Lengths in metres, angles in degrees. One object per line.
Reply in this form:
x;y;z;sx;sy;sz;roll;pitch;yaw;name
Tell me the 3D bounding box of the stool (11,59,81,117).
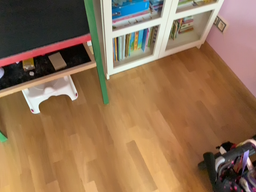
-0.500;-0.050;1.330;0.330;0.200;0.190;-22;63;-16;stool
